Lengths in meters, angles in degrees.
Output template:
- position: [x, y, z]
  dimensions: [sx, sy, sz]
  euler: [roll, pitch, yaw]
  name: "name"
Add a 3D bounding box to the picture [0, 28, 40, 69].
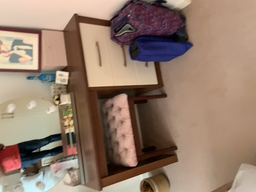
- position: [-0.900, -0.360, 1.620]
  dimensions: [0.090, 0.400, 0.290]
  euler: [15, 106, 53]
  name: "picture"
